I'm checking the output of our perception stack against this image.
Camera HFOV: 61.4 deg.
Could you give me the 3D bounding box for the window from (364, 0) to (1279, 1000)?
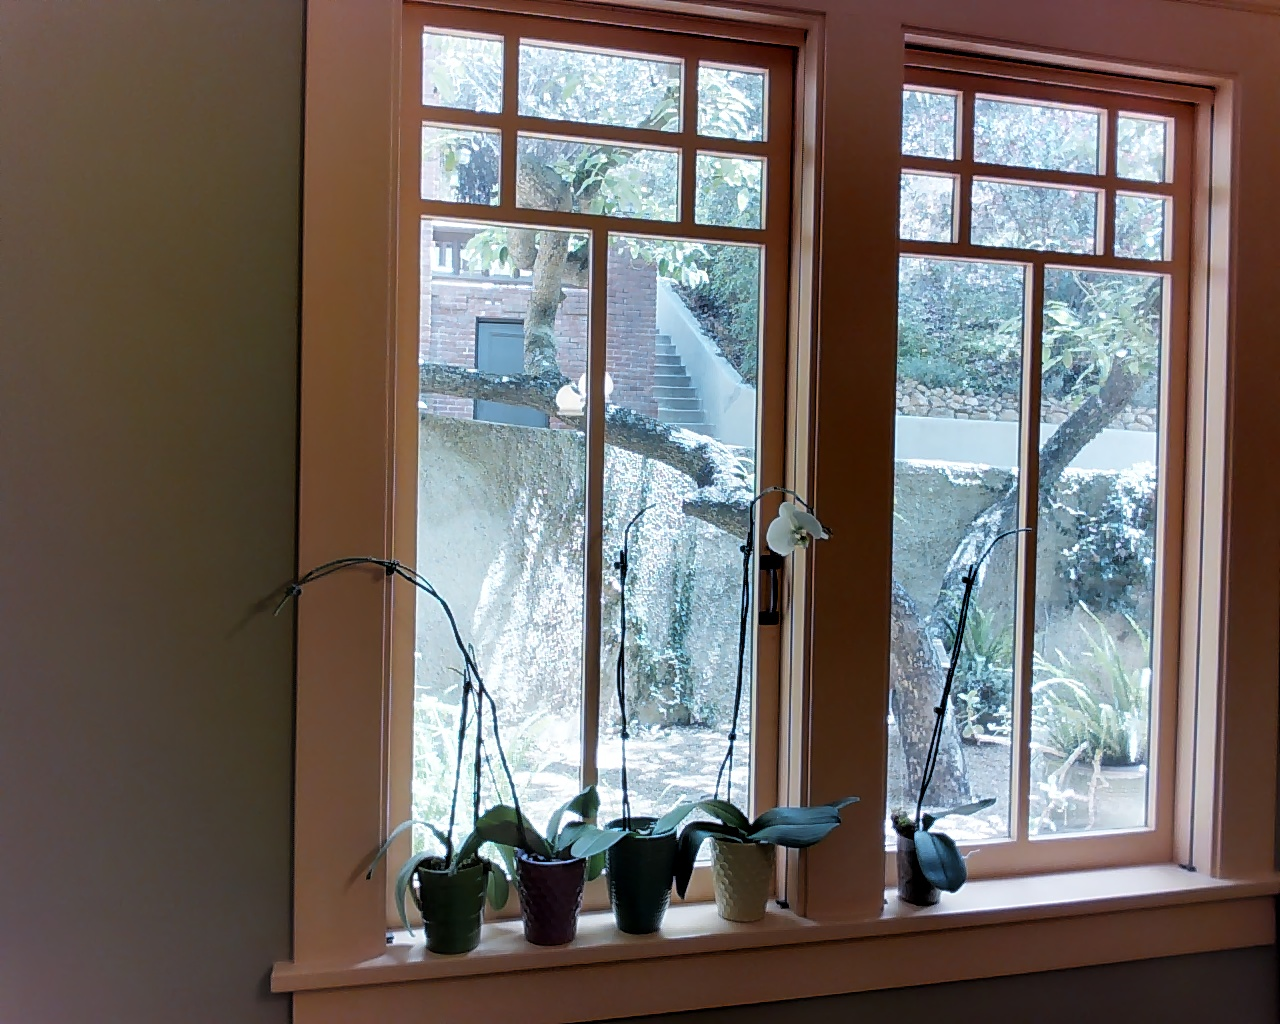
[{"bbox_3d":[0.440,-0.100,2.120,1.870,1.930,0.060,1,0,-14],"label":"window"}]
